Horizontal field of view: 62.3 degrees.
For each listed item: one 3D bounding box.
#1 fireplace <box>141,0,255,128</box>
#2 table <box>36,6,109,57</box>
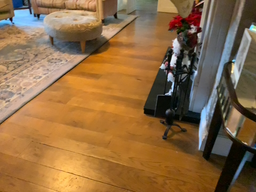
[{"bbox_3d":[0.660,-0.710,1.890,0.750,1.180,1.500,9,33,10],"label":"fireplace"},{"bbox_3d":[-0.790,-0.940,2.930,0.710,0.360,1.050,-13,35,-23],"label":"table"}]
